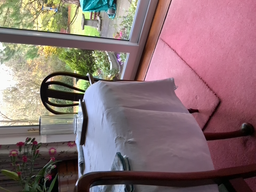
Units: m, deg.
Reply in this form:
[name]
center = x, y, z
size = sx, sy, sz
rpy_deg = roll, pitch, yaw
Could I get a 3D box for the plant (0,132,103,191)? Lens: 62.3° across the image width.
[plant]
center = -0.360, 0.410, 0.870
size = 0.270, 0.400, 0.430
rpy_deg = -117, 35, -49

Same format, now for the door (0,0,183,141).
[door]
center = -0.870, -0.390, 1.820
size = 0.150, 2.500, 2.200
rpy_deg = -113, 32, -45
